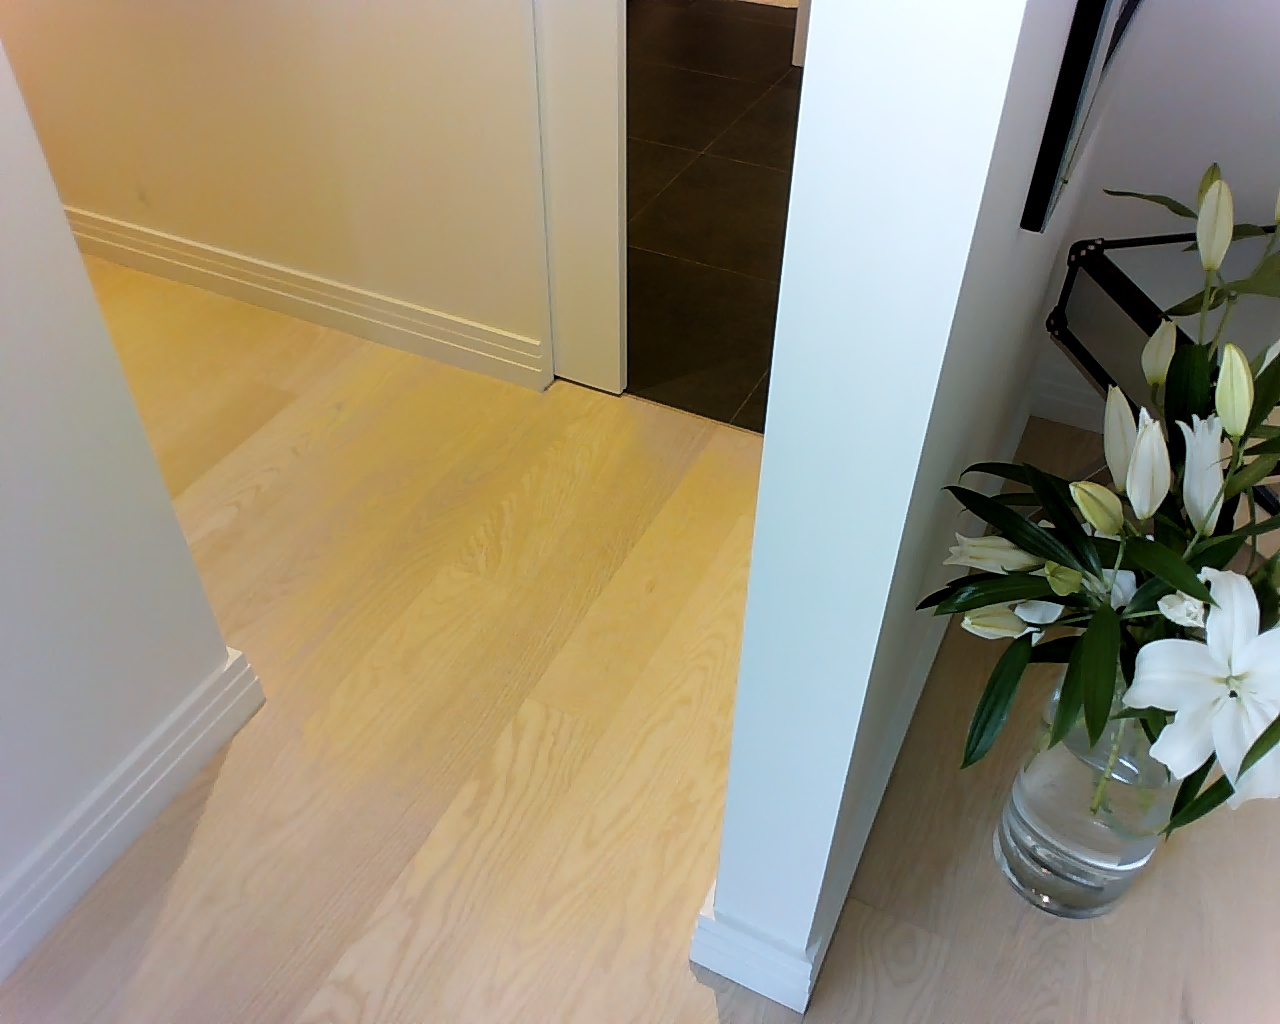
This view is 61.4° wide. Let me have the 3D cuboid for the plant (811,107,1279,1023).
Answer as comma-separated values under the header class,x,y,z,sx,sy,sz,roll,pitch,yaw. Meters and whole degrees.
class,x,y,z,sx,sy,sz,roll,pitch,yaw
plant,0.720,0.200,1.240,0.710,0.900,0.880,18,45,19
